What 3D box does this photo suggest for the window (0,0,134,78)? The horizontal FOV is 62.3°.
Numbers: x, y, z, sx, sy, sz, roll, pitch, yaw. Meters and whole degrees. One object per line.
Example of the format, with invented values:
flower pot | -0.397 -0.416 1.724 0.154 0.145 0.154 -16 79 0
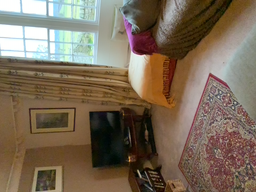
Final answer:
window | -1.070 -1.040 3.320 0.110 2.250 1.520 -121 36 -57
